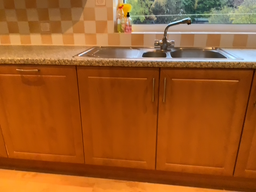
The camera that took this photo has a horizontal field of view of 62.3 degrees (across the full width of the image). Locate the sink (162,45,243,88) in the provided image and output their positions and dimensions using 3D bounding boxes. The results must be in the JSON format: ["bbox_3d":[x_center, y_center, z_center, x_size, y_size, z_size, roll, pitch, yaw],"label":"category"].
[{"bbox_3d":[0.460,-0.230,1.470,0.420,0.180,0.530,2,20,7],"label":"sink"}]
